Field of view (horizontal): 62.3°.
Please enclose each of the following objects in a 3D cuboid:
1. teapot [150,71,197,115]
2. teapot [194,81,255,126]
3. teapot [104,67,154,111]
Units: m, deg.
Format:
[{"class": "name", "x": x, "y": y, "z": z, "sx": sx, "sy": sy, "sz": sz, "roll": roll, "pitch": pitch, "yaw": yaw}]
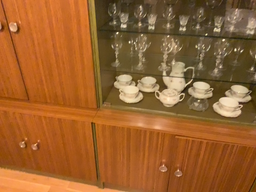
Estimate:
[{"class": "teapot", "x": 0.280, "y": -0.030, "z": 1.300, "sx": 0.240, "sy": 0.110, "sz": 0.300, "roll": 7, "pitch": 32, "yaw": 10}, {"class": "teapot", "x": 0.550, "y": 0.030, "z": 1.250, "sx": 0.300, "sy": 0.070, "sz": 0.300, "roll": 9, "pitch": 32, "yaw": 12}, {"class": "teapot", "x": 0.020, "y": -0.060, "z": 1.330, "sx": 0.240, "sy": 0.110, "sz": 0.320, "roll": 8, "pitch": 32, "yaw": 11}]
